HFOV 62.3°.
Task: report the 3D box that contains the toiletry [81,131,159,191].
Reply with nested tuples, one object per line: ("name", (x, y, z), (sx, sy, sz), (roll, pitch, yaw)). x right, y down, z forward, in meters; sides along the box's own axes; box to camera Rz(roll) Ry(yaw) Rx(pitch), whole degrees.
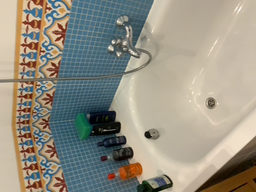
("toiletry", (-0.050, 0.420, 1.130), (0.440, 0.250, 0.140), (56, 135, 37))

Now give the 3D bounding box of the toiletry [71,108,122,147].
("toiletry", (-0.200, 0.190, 1.330), (0.190, 0.250, 0.100), (59, 137, 34))
